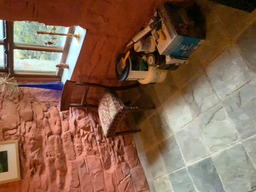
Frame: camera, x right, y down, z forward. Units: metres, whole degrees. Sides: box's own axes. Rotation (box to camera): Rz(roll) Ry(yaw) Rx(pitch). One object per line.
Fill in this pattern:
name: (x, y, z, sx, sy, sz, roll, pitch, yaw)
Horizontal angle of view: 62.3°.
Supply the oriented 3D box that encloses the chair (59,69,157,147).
chair: (-0.260, 0.110, 2.380, 0.580, 0.840, 0.550, 63, 141, 38)
